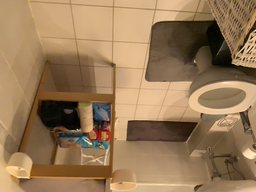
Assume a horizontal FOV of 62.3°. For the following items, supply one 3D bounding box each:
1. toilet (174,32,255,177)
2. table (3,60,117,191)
[{"bbox_3d":[0.720,0.030,1.360,0.650,0.830,0.410,1,143,-3],"label":"toilet"},{"bbox_3d":[-0.390,0.300,1.680,0.580,0.860,0.750,1,143,-3],"label":"table"}]
